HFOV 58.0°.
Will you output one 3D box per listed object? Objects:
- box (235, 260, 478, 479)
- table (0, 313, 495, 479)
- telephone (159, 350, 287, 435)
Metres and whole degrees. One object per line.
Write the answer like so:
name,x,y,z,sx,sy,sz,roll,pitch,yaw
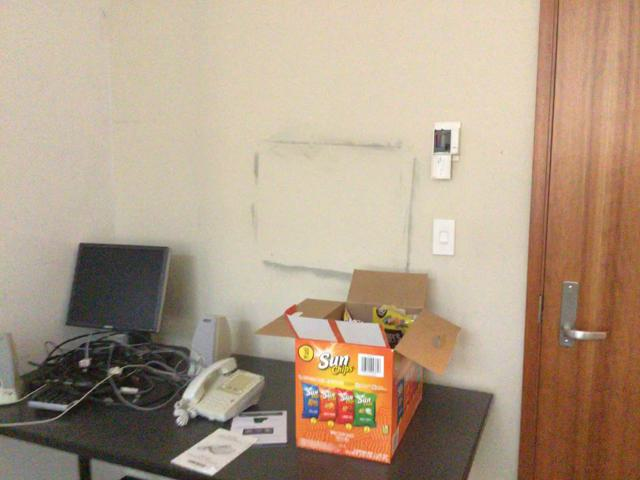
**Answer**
box,0.140,0.310,1.640,0.480,0.400,0.650,3,6,24
table,-0.280,0.470,1.770,1.460,0.180,0.790,3,6,24
telephone,-0.280,0.440,1.720,0.250,0.120,0.300,3,6,24
